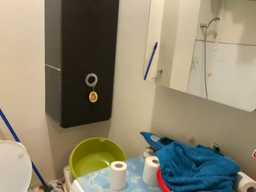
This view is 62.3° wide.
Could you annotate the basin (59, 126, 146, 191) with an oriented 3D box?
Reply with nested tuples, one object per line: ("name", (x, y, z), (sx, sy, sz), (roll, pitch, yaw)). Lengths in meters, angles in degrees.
("basin", (-0.180, 0.420, 1.420), (0.410, 0.230, 0.400), (-8, 19, -40))

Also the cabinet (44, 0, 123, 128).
("cabinet", (-0.320, -0.540, 1.500), (0.420, 1.440, 0.340), (-7, 19, -40))

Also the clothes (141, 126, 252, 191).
("clothes", (0.290, 0.270, 0.930), (0.310, 0.110, 0.340), (-7, 19, -39))
